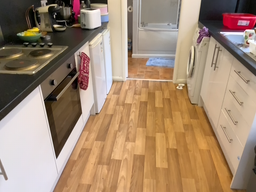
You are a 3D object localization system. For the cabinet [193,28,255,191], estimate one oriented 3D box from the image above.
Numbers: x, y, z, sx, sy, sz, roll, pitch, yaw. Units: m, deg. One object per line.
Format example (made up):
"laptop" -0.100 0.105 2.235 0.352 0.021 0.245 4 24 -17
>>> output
"cabinet" 1.100 0.010 1.890 0.650 0.940 1.290 3 29 4

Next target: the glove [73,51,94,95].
"glove" -0.390 -0.210 1.900 0.080 0.310 0.260 4 29 6

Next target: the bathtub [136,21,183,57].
"bathtub" 0.640 -1.250 4.550 0.890 0.550 0.840 3 28 4
